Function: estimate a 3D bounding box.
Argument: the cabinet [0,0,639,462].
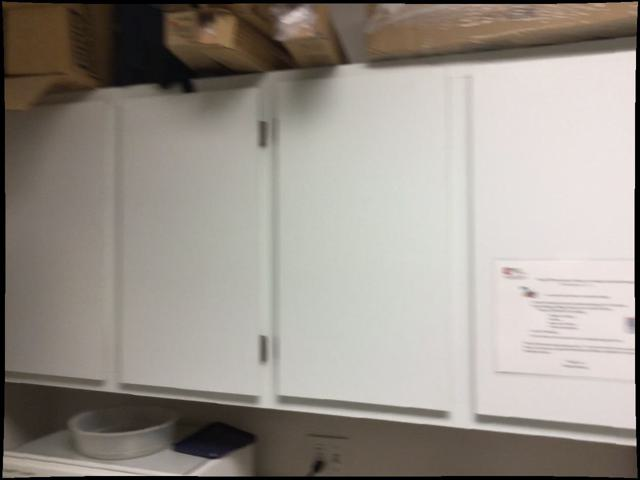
[{"bbox_3d":[0.310,-0.040,1.190,2.638,0.861,0.160,0,1,19],"label":"cabinet"}]

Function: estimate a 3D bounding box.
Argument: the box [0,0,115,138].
[{"bbox_3d":[-0.789,-0.440,1.440,0.440,0.310,0.290,0,1,19],"label":"box"}]
